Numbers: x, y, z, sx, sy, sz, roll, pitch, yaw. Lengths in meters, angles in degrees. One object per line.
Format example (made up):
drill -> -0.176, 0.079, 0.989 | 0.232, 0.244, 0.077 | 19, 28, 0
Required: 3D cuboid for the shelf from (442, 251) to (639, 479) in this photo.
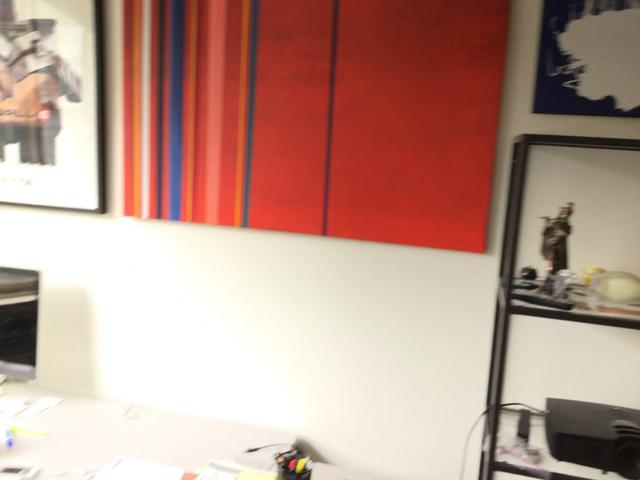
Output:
shelf -> 0.610, 0.770, 1.400 | 0.590, 1.380, 0.660 | 2, 8, 16
